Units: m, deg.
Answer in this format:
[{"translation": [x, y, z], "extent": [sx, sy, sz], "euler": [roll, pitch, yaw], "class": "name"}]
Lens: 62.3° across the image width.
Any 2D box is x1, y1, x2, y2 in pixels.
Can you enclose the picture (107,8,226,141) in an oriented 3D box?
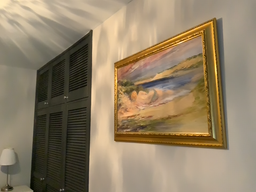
[{"translation": [0.140, -0.060, 1.340], "extent": [0.040, 0.640, 0.890], "euler": [6, -11, -40], "class": "picture"}]
